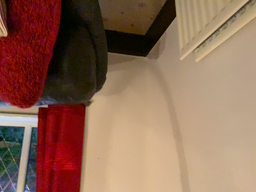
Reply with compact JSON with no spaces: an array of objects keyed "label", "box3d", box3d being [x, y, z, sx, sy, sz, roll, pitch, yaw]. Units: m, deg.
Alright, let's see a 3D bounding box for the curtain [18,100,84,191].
[{"label":"curtain","box3d":[-0.560,0.910,1.480,0.370,1.680,0.440,5,161,-16]}]
